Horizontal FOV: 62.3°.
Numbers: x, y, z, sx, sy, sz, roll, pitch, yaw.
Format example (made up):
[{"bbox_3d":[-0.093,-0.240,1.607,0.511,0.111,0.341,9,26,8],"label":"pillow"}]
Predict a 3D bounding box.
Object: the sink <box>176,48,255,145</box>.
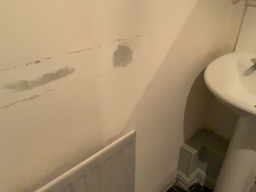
[{"bbox_3d":[0.600,0.000,0.950,0.430,0.200,0.590,-26,40,-37],"label":"sink"}]
